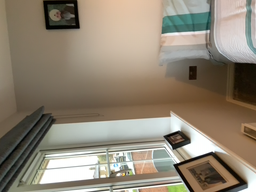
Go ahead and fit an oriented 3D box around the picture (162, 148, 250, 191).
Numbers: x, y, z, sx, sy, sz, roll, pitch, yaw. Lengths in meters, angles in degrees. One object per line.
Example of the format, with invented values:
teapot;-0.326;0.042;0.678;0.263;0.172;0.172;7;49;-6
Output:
picture;0.370;0.370;1.070;0.350;0.240;0.080;-172;79;-66
